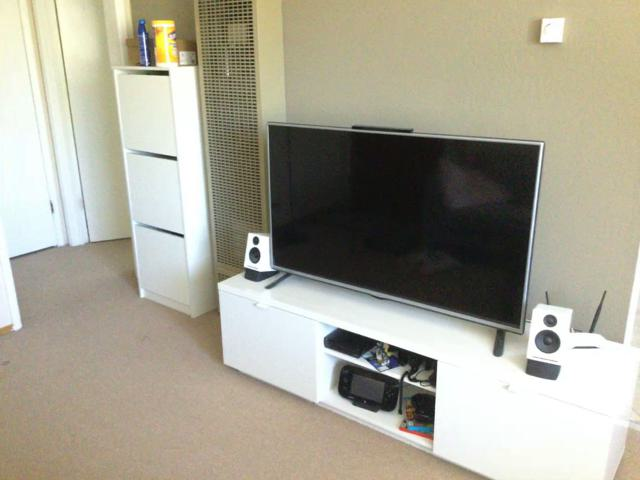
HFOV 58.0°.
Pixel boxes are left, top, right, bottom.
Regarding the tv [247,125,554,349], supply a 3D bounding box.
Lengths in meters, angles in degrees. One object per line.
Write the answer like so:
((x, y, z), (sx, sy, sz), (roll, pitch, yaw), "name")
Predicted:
((0.220, -0.070, 2.110), (1.170, 0.670, 0.110), (9, 22, 38), "tv")

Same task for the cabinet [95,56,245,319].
((-0.810, -0.290, 3.170), (0.640, 1.320, 0.280), (9, 22, 38), "cabinet")

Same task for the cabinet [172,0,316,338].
((-0.360, -0.370, 2.840), (0.570, 1.660, 0.180), (9, 22, 38), "cabinet")
